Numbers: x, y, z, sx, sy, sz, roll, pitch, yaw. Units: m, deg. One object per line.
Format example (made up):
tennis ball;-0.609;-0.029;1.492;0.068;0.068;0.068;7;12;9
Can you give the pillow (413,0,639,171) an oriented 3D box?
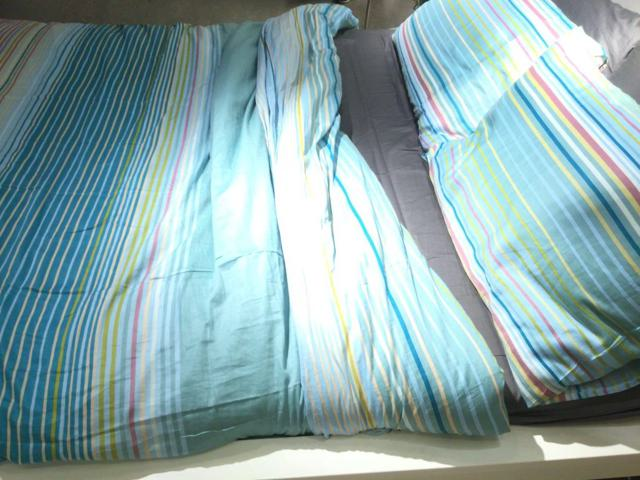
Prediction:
pillow;0.490;-0.540;1.550;0.300;0.340;0.730;0;43;-5

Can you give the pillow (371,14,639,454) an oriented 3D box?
pillow;0.350;-0.050;1.080;0.190;0.710;0.430;24;-54;-25

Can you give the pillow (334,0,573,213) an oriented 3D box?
pillow;0.290;-0.480;1.540;0.220;0.650;0.470;25;-54;-25

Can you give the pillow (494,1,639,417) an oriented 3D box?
pillow;0.590;-0.100;1.060;0.250;0.400;0.700;0;43;-5
